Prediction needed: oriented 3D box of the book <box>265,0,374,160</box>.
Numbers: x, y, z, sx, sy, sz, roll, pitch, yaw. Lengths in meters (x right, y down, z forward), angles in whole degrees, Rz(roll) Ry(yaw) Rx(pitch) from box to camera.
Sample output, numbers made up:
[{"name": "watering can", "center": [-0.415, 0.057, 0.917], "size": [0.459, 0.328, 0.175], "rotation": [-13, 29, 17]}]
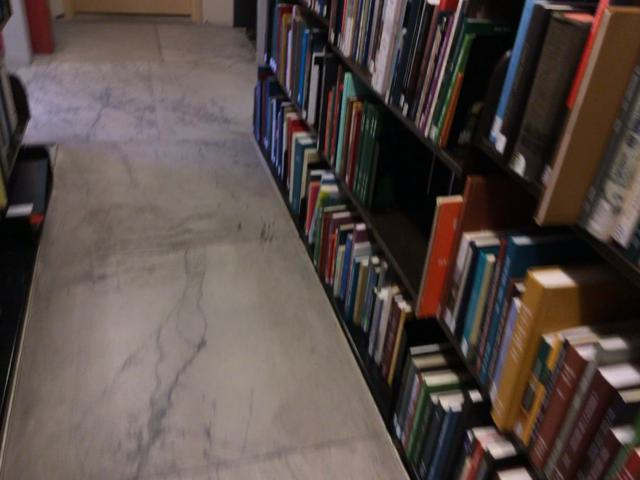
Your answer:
[{"name": "book", "center": [-0.040, -0.670, 2.170], "size": [0.130, 0.430, 0.780], "rotation": [-1, 34, -19]}]

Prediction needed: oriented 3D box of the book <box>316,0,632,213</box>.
[{"name": "book", "center": [0.250, -0.480, 1.360], "size": [0.220, 0.430, 0.900], "rotation": [-1, 34, -19]}]

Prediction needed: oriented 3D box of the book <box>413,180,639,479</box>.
[{"name": "book", "center": [0.440, 0.250, 0.920], "size": [0.230, 0.410, 0.690], "rotation": [-1, 34, -19]}]

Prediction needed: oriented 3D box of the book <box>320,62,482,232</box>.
[{"name": "book", "center": [0.210, -0.280, 1.710], "size": [0.270, 0.350, 0.400], "rotation": [-1, 34, -19]}]

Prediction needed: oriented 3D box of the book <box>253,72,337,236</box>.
[{"name": "book", "center": [-0.130, -0.380, 2.360], "size": [0.110, 0.370, 0.760], "rotation": [-1, 34, -19]}]
